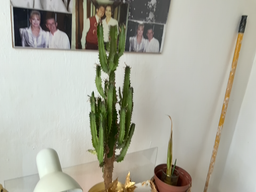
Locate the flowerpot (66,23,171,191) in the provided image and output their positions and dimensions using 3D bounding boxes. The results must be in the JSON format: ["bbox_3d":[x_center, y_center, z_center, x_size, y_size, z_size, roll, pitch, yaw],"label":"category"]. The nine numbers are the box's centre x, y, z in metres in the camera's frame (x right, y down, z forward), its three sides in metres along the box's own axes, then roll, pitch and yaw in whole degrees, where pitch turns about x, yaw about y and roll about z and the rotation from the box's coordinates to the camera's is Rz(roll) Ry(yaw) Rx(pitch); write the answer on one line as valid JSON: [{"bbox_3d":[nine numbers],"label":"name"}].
[{"bbox_3d":[-0.070,0.130,0.690,0.200,0.670,0.240,-3,20,-28],"label":"flowerpot"}]

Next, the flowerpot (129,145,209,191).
[{"bbox_3d":[0.150,0.330,0.860,0.180,0.120,0.260,-3,20,-28],"label":"flowerpot"}]
